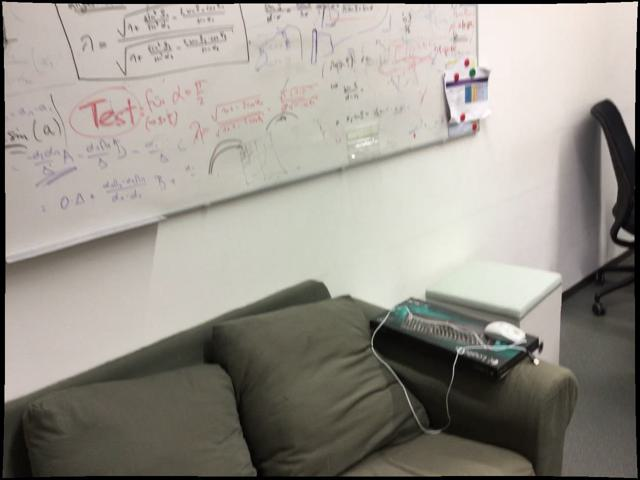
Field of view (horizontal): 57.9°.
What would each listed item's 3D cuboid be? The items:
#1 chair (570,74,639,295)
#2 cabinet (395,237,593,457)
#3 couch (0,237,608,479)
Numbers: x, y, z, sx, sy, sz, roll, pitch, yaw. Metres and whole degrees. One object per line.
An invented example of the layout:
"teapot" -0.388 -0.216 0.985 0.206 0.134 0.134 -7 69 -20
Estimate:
"chair" 1.738 -0.300 2.980 0.709 1.021 0.600 5 24 32
"cabinet" 0.719 0.390 2.370 0.640 0.560 0.460 -21 24 -33
"couch" -0.110 0.661 1.530 1.499 0.751 0.960 -21 24 -33
